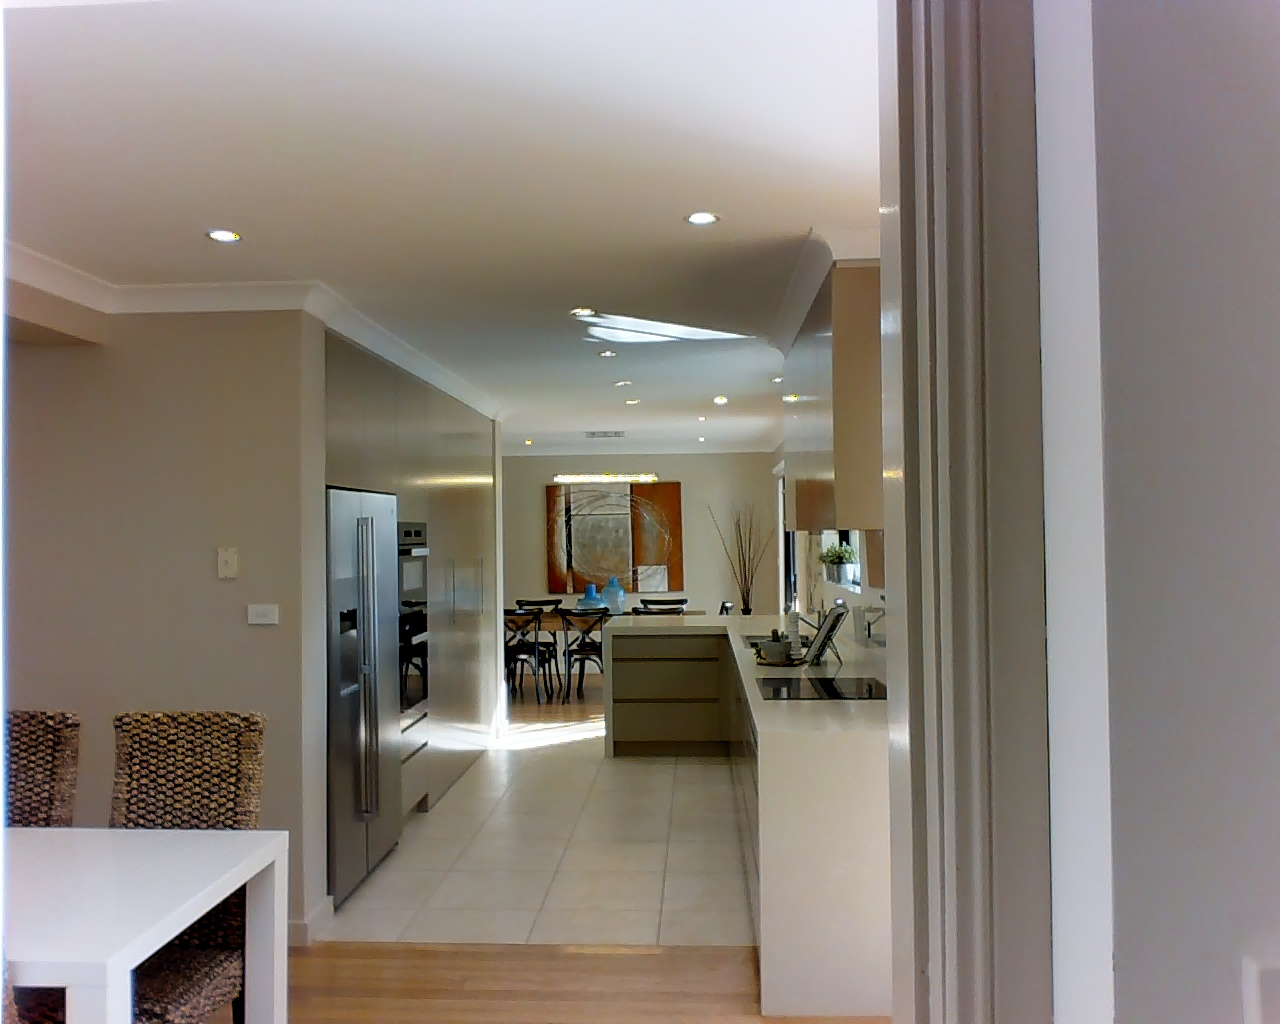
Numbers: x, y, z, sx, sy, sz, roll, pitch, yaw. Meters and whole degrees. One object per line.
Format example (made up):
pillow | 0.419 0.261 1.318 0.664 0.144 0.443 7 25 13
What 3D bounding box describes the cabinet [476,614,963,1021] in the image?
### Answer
cabinet | 0.370 1.210 5.850 1.540 0.940 4.860 -1 -2 3
